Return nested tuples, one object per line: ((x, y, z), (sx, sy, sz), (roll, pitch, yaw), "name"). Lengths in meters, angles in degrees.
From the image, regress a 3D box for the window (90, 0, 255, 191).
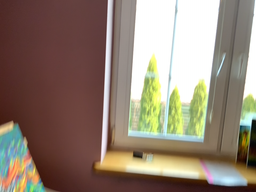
((0.630, -0.190, 1.300), (1.620, 1.490, 0.330), (3, 9, -1), "window")
